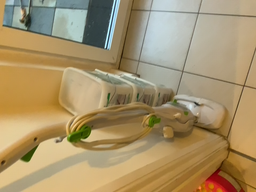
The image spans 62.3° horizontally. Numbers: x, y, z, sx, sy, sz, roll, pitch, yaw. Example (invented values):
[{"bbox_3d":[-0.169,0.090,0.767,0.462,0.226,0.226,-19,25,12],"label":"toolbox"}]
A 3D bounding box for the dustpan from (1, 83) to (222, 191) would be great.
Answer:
[{"bbox_3d":[0.110,0.070,0.820,0.180,1.020,0.150,27,107,34],"label":"dustpan"}]
